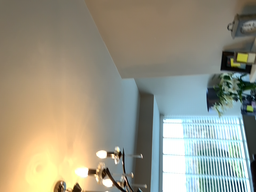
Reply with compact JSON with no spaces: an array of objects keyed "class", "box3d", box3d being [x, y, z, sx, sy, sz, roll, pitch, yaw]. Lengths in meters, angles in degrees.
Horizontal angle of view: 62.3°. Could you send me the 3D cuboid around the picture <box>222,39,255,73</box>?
[{"class":"picture","box3d":[1.000,-0.360,1.940,0.260,0.210,0.170,69,-155,-57]}]
